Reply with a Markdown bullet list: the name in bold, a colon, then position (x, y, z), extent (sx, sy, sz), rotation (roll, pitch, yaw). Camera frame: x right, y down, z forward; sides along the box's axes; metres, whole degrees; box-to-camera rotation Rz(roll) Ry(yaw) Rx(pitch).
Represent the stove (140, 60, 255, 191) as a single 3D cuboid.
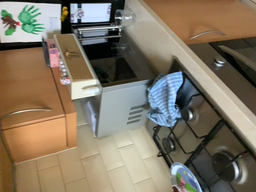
- **stove**: position (0.240, 0.230, 0.900), extent (0.530, 0.030, 0.550), rotation (104, 146, -45)
